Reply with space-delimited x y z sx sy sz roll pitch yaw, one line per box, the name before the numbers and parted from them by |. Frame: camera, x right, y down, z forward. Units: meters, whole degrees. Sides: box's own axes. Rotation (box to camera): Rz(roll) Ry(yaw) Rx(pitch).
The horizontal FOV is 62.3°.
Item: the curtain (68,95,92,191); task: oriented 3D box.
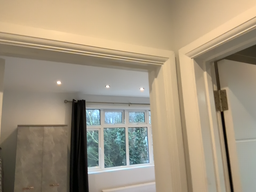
curtain | -0.890 0.960 3.900 0.370 1.930 0.190 2 -11 -26
